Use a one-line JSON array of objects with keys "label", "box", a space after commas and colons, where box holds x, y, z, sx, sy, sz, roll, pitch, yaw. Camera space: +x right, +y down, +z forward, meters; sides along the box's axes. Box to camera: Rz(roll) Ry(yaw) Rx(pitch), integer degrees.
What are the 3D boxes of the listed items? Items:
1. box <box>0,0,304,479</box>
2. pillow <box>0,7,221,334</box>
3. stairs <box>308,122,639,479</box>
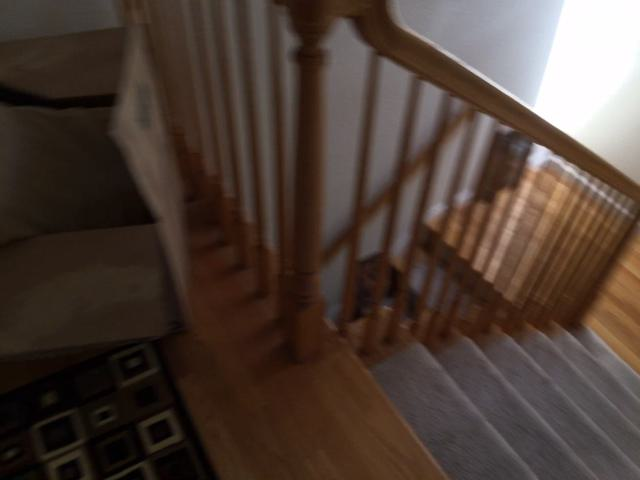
[{"label": "box", "box": [-0.620, -0.120, 1.400, 0.740, 0.630, 0.980, -27, 55, -20]}, {"label": "pillow", "box": [-0.640, -0.150, 1.280, 0.650, 0.370, 0.460, -27, 55, -20]}, {"label": "stairs", "box": [0.810, 0.560, 1.870, 1.300, 1.070, 1.080, -26, 55, -20]}]
